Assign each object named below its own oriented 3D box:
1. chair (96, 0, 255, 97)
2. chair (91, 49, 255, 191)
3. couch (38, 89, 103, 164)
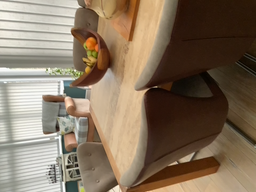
[{"bbox_3d":[0.380,-0.370,0.980,0.560,0.870,0.480,51,137,49],"label":"chair"},{"bbox_3d":[0.320,0.080,1.160,0.540,0.870,0.480,51,137,49],"label":"chair"},{"bbox_3d":[-1.130,0.520,4.050,0.870,0.980,0.980,47,134,52],"label":"couch"}]
